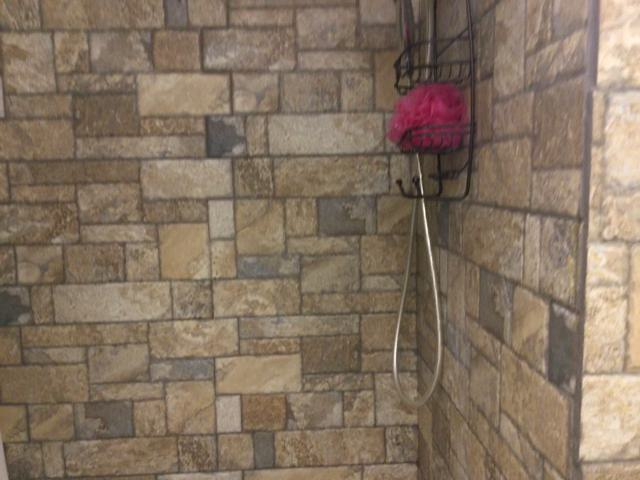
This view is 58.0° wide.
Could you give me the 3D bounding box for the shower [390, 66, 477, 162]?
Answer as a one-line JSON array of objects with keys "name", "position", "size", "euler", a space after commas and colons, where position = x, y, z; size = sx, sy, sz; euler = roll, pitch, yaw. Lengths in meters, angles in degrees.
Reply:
[{"name": "shower", "position": [0.200, -0.220, 1.040], "size": [0.120, 0.150, 0.140], "euler": [-3, 7, -3]}]
